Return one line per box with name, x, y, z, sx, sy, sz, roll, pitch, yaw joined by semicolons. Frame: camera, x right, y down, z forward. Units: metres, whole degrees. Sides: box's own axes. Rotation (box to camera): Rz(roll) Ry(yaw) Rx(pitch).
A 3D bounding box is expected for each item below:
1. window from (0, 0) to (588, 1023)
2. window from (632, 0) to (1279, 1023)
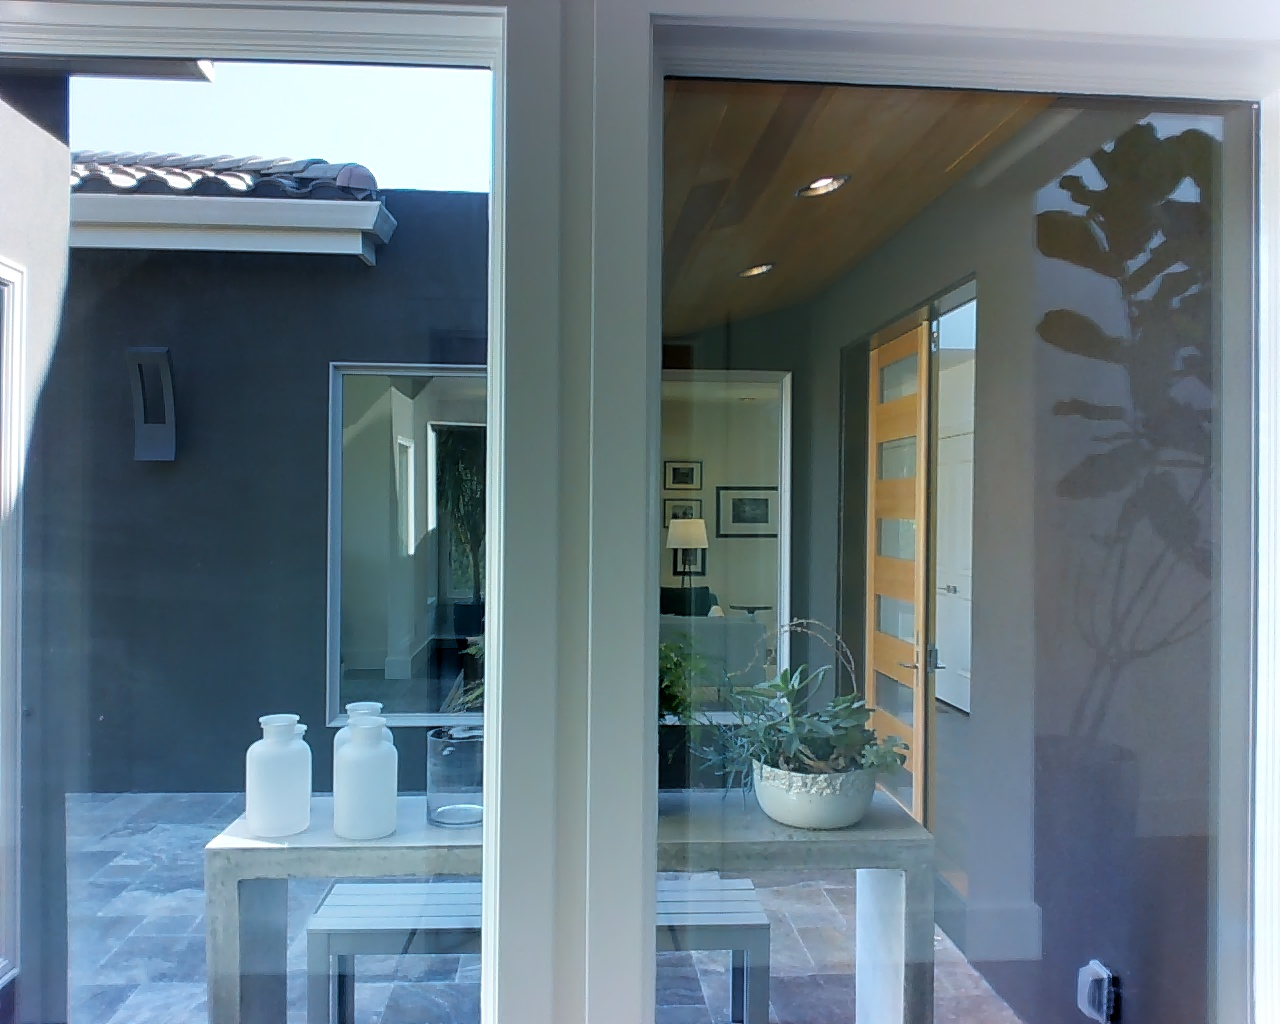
window;-0.750;0.160;1.810;1.300;2.030;0.190;1;0;-3
window;0.590;0.170;1.890;1.180;2.040;0.250;1;0;-3
